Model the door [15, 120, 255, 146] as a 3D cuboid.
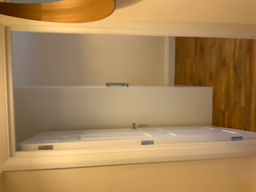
[{"bbox_3d":[0.120,0.330,2.090,0.860,2.010,0.050,173,97,-81],"label":"door"}]
